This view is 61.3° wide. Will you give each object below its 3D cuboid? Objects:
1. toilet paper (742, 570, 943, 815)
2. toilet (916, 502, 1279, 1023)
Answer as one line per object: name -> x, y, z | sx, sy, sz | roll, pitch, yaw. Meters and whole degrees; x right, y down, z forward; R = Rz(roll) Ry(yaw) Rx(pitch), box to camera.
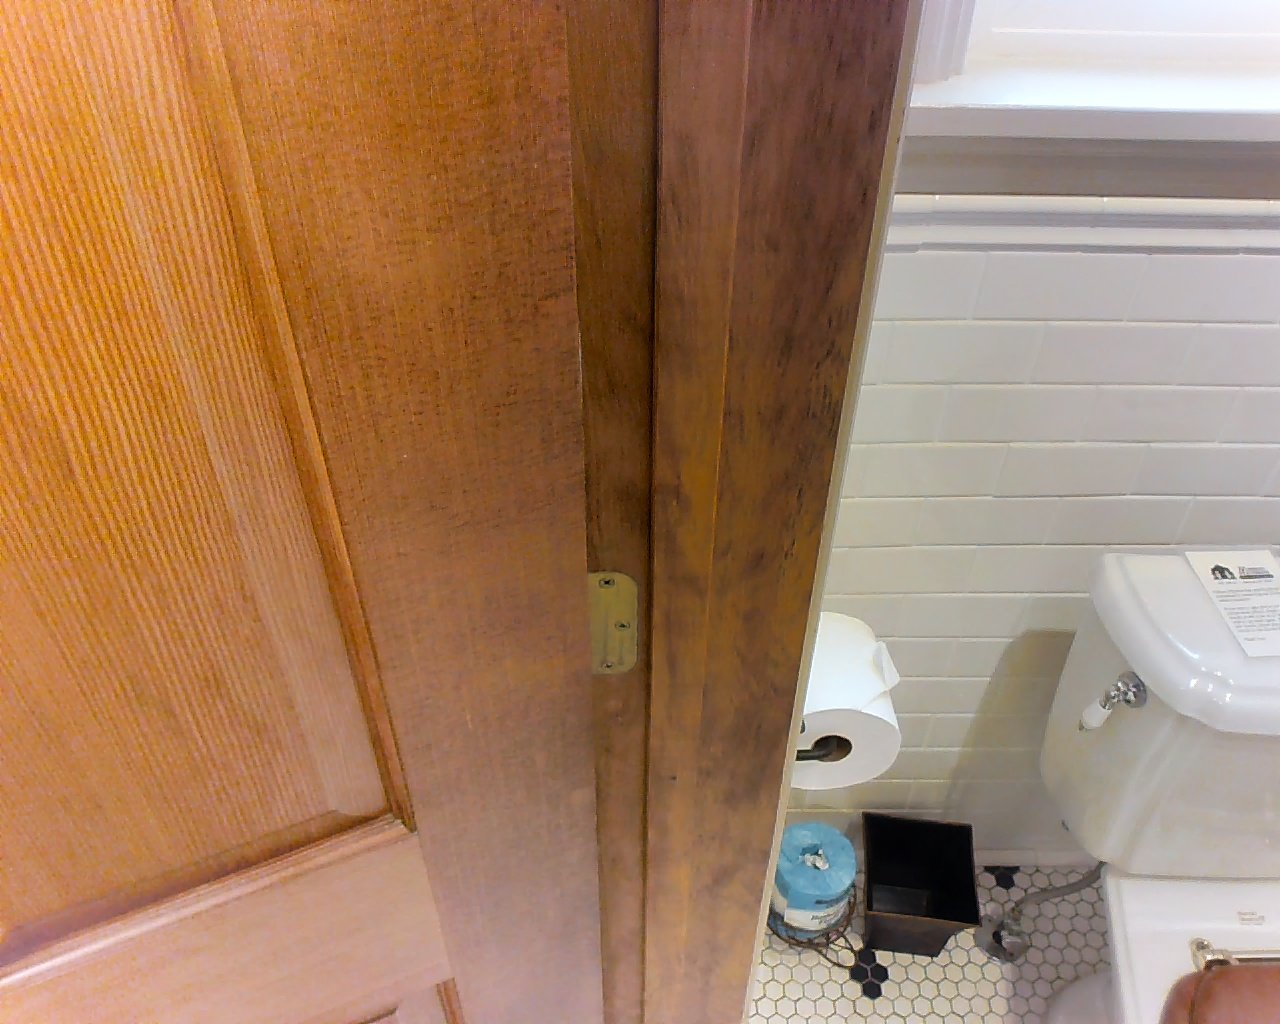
toilet paper -> 0.190, 0.180, 1.070 | 0.150, 0.190, 0.150 | -1, 42, -1
toilet -> 0.720, 0.540, 1.170 | 0.540, 0.800, 0.760 | -1, 42, -1
